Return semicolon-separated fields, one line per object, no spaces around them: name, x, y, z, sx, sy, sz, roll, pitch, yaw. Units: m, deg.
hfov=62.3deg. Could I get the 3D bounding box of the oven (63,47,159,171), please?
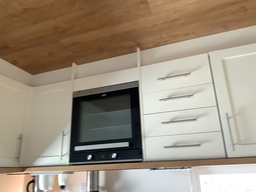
oven;-0.120;0.170;1.910;0.600;0.910;0.610;-8;161;18
